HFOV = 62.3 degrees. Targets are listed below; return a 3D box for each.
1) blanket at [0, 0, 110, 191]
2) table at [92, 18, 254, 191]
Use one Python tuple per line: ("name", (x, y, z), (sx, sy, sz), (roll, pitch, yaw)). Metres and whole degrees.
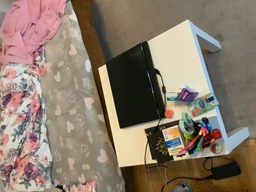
("blanket", (-0.710, 0.220, 1.540), (1.180, 0.170, 1.800), (-19, 79, 36))
("table", (0.240, 0.070, 1.190), (0.530, 0.490, 0.670), (-29, 74, 34))
